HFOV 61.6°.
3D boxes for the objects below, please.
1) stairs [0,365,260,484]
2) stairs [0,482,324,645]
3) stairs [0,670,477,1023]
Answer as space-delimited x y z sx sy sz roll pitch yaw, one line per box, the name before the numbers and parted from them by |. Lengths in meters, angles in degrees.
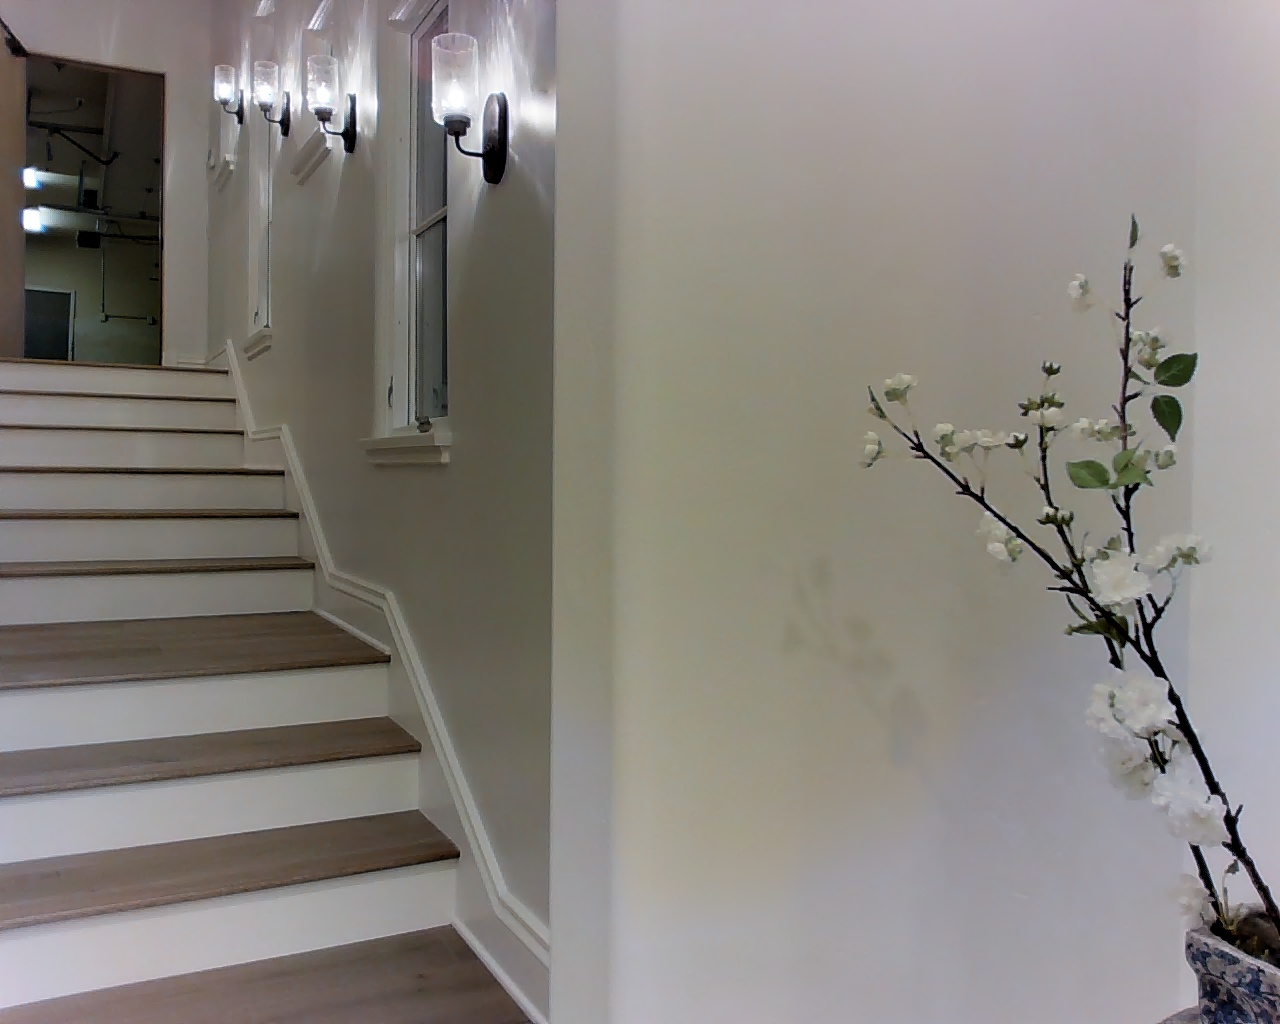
stairs | -2.899 -0.450 5.840 1.480 0.570 0.730 0 2 -28
stairs | -2.049 0.170 4.200 1.450 0.560 0.710 0 2 -28
stairs | -1.220 0.770 2.620 1.460 0.550 0.740 0 2 -28
